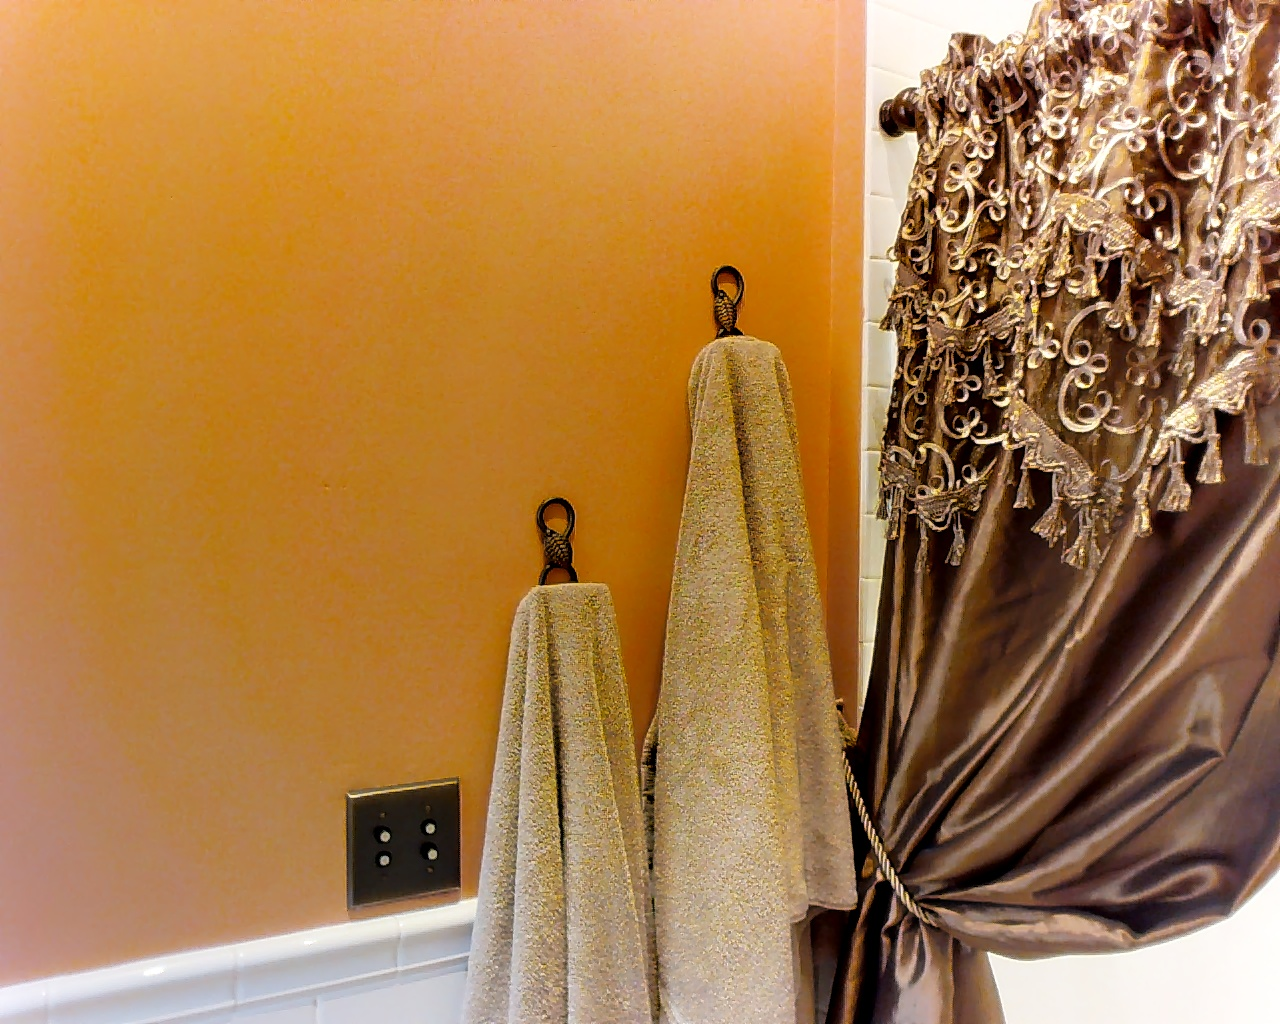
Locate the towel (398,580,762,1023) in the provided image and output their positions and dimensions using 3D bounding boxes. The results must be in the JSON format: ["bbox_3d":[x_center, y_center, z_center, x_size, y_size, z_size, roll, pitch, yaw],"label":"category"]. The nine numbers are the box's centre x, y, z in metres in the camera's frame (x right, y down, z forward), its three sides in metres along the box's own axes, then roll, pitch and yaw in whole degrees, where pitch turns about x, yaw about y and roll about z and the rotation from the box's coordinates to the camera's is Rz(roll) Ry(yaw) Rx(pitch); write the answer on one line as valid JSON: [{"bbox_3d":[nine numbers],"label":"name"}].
[{"bbox_3d":[-0.060,0.600,1.080,0.310,1.040,0.190,0,1,-31],"label":"towel"}]

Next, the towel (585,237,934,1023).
[{"bbox_3d":[0.130,0.280,1.190,0.320,1.080,0.210,0,1,-31],"label":"towel"}]

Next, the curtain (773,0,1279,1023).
[{"bbox_3d":[0.430,0.140,0.950,0.130,2.781,0.860,0,1,-30],"label":"curtain"}]
